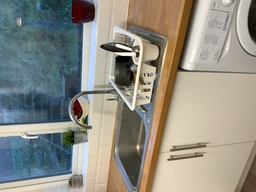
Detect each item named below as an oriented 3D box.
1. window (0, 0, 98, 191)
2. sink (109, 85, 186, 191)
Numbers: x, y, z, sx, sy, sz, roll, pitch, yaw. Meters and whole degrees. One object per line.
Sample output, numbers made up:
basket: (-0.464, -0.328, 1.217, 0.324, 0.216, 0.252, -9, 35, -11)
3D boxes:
window: (-0.820, 0.040, 1.610, 0.050, 1.070, 1.880, -129, 43, -57)
sink: (0.080, 0.300, 1.410, 0.500, 0.220, 0.610, -132, 45, -58)
